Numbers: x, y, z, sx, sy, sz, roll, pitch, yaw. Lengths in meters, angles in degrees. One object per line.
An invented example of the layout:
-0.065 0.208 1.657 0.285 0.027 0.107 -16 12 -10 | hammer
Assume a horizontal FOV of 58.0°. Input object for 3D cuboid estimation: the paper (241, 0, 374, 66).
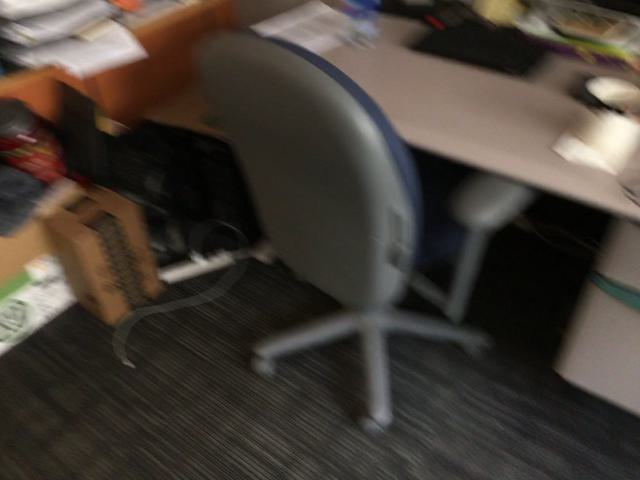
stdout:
-0.030 -0.600 1.650 0.230 0.050 0.310 26 49 32 | paper
